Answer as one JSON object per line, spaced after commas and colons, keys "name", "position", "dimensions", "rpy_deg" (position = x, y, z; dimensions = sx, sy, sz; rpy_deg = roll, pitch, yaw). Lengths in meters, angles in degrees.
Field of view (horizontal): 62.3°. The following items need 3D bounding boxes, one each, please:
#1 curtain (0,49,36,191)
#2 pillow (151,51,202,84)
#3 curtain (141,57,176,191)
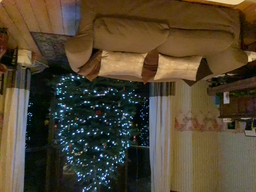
{"name": "curtain", "position": [-2.110, 0.800, 4.050], "dimensions": [0.310, 3.260, 0.690], "rpy_deg": [2, 174, -9]}
{"name": "pillow", "position": [0.610, -0.350, 2.710], "dimensions": [0.560, 0.110, 0.310], "rpy_deg": [13, 143, -14]}
{"name": "curtain", "position": [0.660, 0.880, 4.640], "dimensions": [0.700, 3.400, 0.210], "rpy_deg": [-3, 173, 29]}
